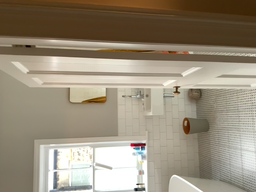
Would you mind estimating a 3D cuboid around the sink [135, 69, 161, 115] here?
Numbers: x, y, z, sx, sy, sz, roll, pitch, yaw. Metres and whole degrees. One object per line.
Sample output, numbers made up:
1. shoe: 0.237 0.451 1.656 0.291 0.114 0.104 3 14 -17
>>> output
1. sink: 0.250 -0.030 2.790 0.500 0.190 0.540 142 127 -78
